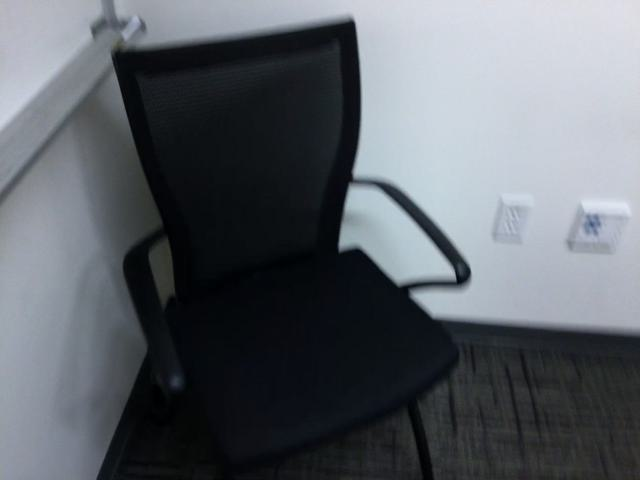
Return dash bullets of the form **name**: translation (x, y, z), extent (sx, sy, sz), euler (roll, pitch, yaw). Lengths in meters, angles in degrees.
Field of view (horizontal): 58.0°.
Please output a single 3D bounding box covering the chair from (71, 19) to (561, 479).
- **chair**: translation (-0.070, 0.130, 1.120), extent (0.540, 0.860, 0.620), euler (-14, 39, -17)
